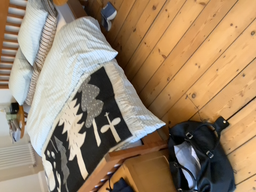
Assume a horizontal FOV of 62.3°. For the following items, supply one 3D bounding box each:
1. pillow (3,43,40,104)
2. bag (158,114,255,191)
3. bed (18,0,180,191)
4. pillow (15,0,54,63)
[{"bbox_3d":[-1.410,-0.280,2.780,0.670,0.260,0.420,-53,53,36],"label":"pillow"},{"bbox_3d":[0.490,0.440,1.370,0.450,0.170,0.460,-55,51,35],"label":"bag"},{"bbox_3d":[-0.660,0.090,2.470,1.660,0.530,2.130,-54,53,36],"label":"bed"},{"bbox_3d":[-1.060,-0.780,2.350,0.700,0.170,0.430,-51,54,37],"label":"pillow"}]
